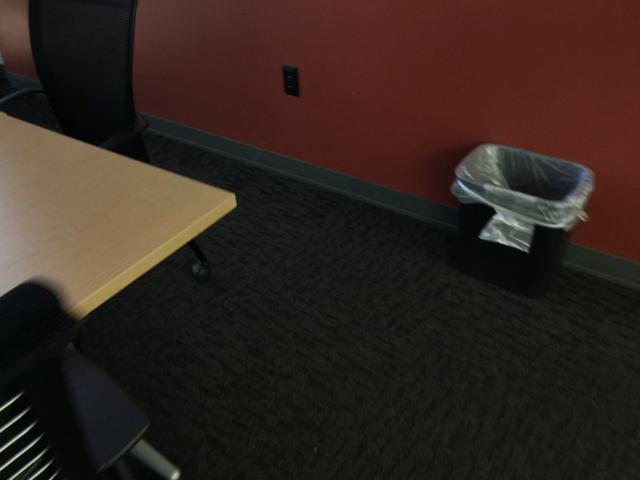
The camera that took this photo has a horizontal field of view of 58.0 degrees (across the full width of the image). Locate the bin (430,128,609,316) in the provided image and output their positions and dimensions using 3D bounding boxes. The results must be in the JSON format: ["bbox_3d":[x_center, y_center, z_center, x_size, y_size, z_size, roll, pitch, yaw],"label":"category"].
[{"bbox_3d":[0.620,-0.070,1.850,0.400,0.410,0.290,22,42,29],"label":"bin"}]
